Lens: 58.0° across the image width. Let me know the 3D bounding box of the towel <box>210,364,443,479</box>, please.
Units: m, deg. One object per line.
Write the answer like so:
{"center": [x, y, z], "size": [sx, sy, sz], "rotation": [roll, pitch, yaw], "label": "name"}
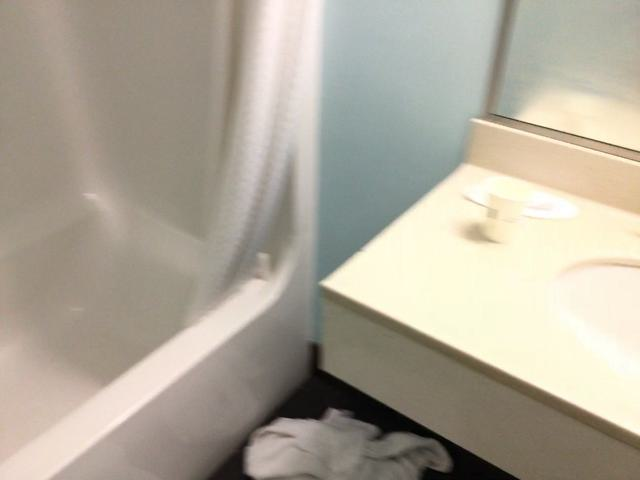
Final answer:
{"center": [0.020, 0.600, 1.560], "size": [0.480, 0.130, 0.390], "rotation": [23, 38, 28], "label": "towel"}
